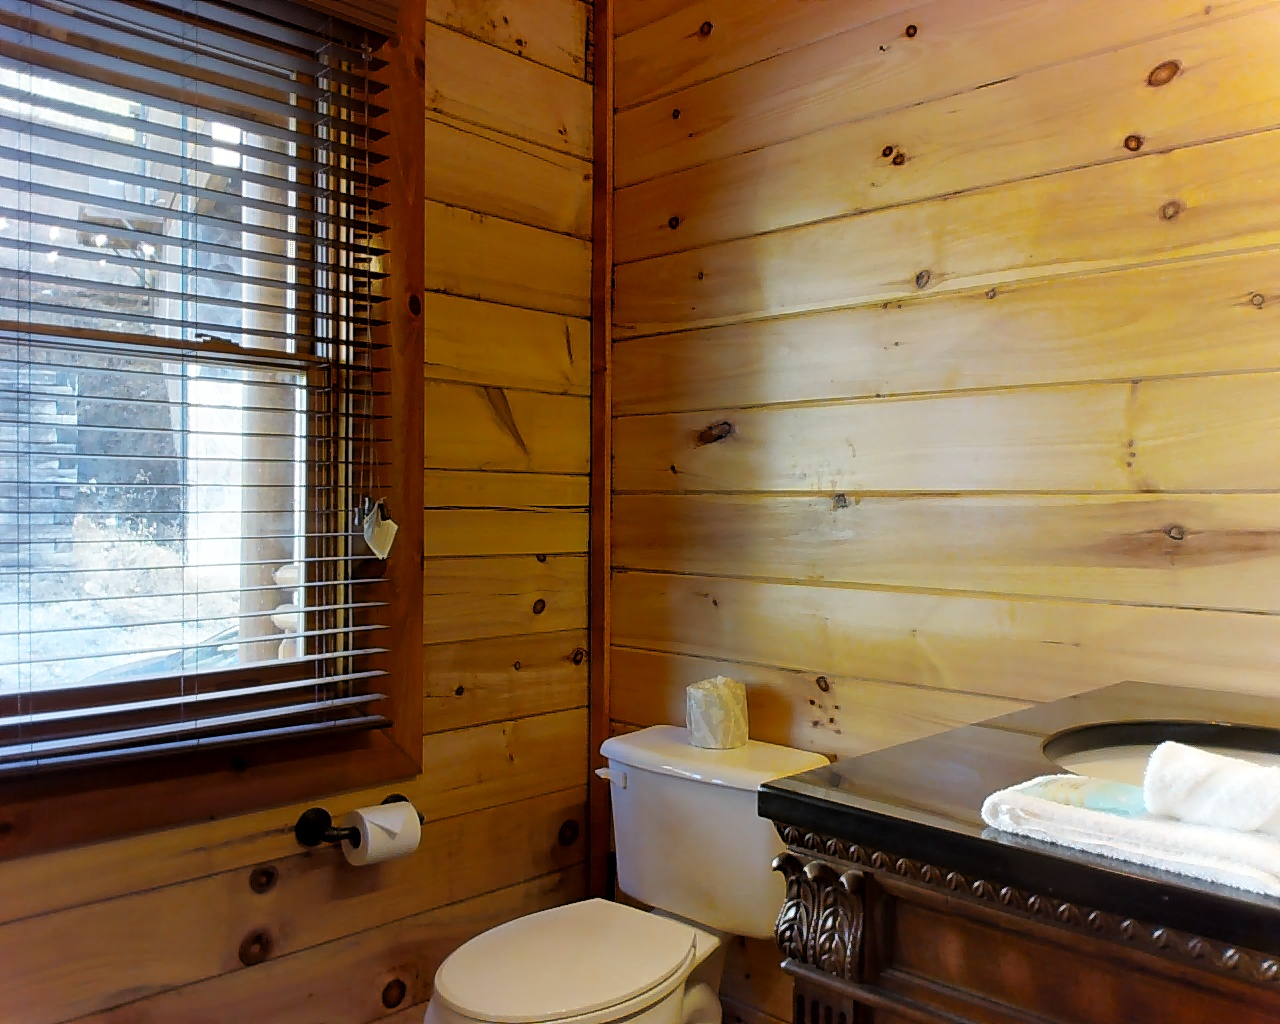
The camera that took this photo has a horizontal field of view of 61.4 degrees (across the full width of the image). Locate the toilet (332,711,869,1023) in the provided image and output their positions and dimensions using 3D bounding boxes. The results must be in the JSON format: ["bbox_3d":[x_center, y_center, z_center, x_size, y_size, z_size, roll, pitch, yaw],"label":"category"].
[{"bbox_3d":[-0.050,0.790,1.920,0.550,0.700,0.790,0,0,45],"label":"toilet"}]
